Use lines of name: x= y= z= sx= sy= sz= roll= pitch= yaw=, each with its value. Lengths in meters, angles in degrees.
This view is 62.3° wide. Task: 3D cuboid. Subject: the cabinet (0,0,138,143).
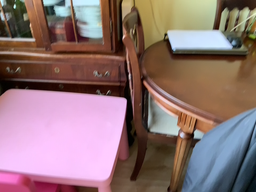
cabinet: x=-0.440 y=-0.500 z=1.230 sx=0.980 sy=1.770 sz=0.430 roll=2 pitch=37 yaw=3

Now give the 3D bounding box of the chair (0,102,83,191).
chair: x=-0.480 y=0.400 z=0.960 sx=0.390 sy=0.680 sz=0.340 roll=2 pitch=37 yaw=2

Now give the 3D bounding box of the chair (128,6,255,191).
chair: x=0.270 y=0.060 z=1.200 sx=0.440 sy=0.940 sz=0.460 roll=9 pitch=38 yaw=12
